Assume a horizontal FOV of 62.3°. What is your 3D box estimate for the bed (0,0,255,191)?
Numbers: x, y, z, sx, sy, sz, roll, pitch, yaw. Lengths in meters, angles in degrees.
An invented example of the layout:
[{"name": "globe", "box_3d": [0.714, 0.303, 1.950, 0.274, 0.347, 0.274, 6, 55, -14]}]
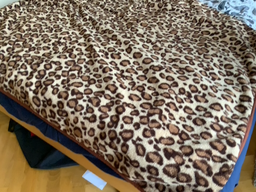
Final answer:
[{"name": "bed", "box_3d": [0.100, -0.440, 1.760, 1.990, 0.600, 2.210, 27, 48, 25]}]
